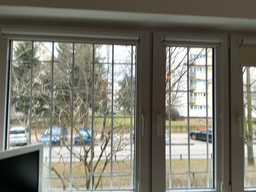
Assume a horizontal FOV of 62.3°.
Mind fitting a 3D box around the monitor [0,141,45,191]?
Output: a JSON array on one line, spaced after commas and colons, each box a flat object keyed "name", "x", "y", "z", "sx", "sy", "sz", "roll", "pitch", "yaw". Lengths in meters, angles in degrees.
[{"name": "monitor", "x": -0.580, "y": 0.440, "z": 0.980, "sx": 0.040, "sy": 0.380, "sz": 0.490, "roll": 0, "pitch": -3, "yaw": 19}]
